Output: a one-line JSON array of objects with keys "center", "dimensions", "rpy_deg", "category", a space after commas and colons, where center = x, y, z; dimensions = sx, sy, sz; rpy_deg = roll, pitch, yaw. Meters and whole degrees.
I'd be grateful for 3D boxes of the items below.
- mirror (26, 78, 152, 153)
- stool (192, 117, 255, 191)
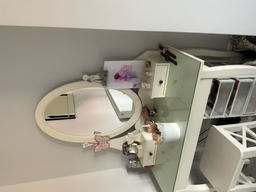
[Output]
[{"center": [-0.250, 0.120, 1.510], "dimensions": [0.100, 0.820, 0.480], "rpy_deg": [-133, 43, -65], "category": "mirror"}, {"center": [0.770, 0.430, 1.500], "dimensions": [0.320, 0.420, 0.420], "rpy_deg": [-119, 32, -56], "category": "stool"}]
